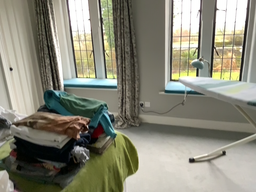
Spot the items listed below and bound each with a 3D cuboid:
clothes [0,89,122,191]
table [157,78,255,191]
[{"bbox_3d":[-0.500,0.230,1.470,0.670,0.340,0.740,4,19,20],"label":"clothes"},{"bbox_3d":[0.830,0.450,1.840,0.450,0.940,1.340,-12,20,-26],"label":"table"}]
